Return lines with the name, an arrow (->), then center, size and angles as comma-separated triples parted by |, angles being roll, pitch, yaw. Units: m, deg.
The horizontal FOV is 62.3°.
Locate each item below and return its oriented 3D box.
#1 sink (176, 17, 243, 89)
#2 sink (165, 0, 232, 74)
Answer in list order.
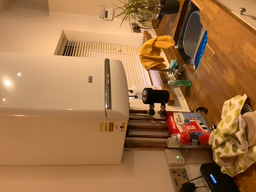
sink -> 0.510, -0.270, 1.400 | 0.190, 0.230, 0.410 | -99, 14, -51
sink -> 0.490, -0.470, 1.600 | 0.370, 0.230, 0.470 | -99, 14, -51
